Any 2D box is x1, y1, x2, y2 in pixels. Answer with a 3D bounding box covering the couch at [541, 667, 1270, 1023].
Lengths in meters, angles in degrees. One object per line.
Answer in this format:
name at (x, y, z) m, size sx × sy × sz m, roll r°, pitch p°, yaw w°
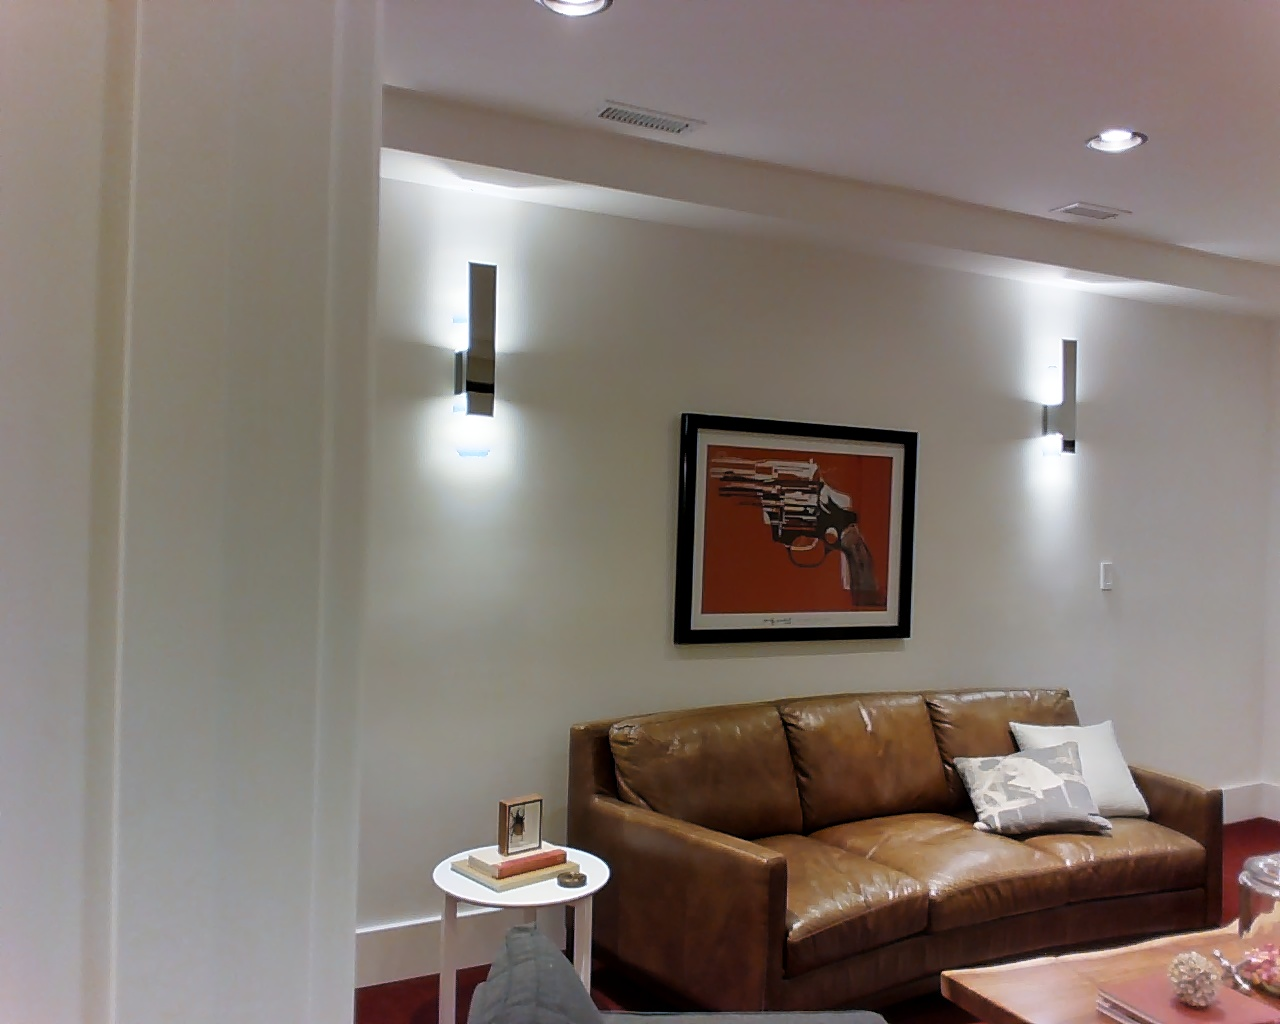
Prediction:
couch at (0.930, 1.120, 3.760) m, size 2.260 × 0.880 × 1.150 m, roll 1°, pitch 0°, yaw -27°
